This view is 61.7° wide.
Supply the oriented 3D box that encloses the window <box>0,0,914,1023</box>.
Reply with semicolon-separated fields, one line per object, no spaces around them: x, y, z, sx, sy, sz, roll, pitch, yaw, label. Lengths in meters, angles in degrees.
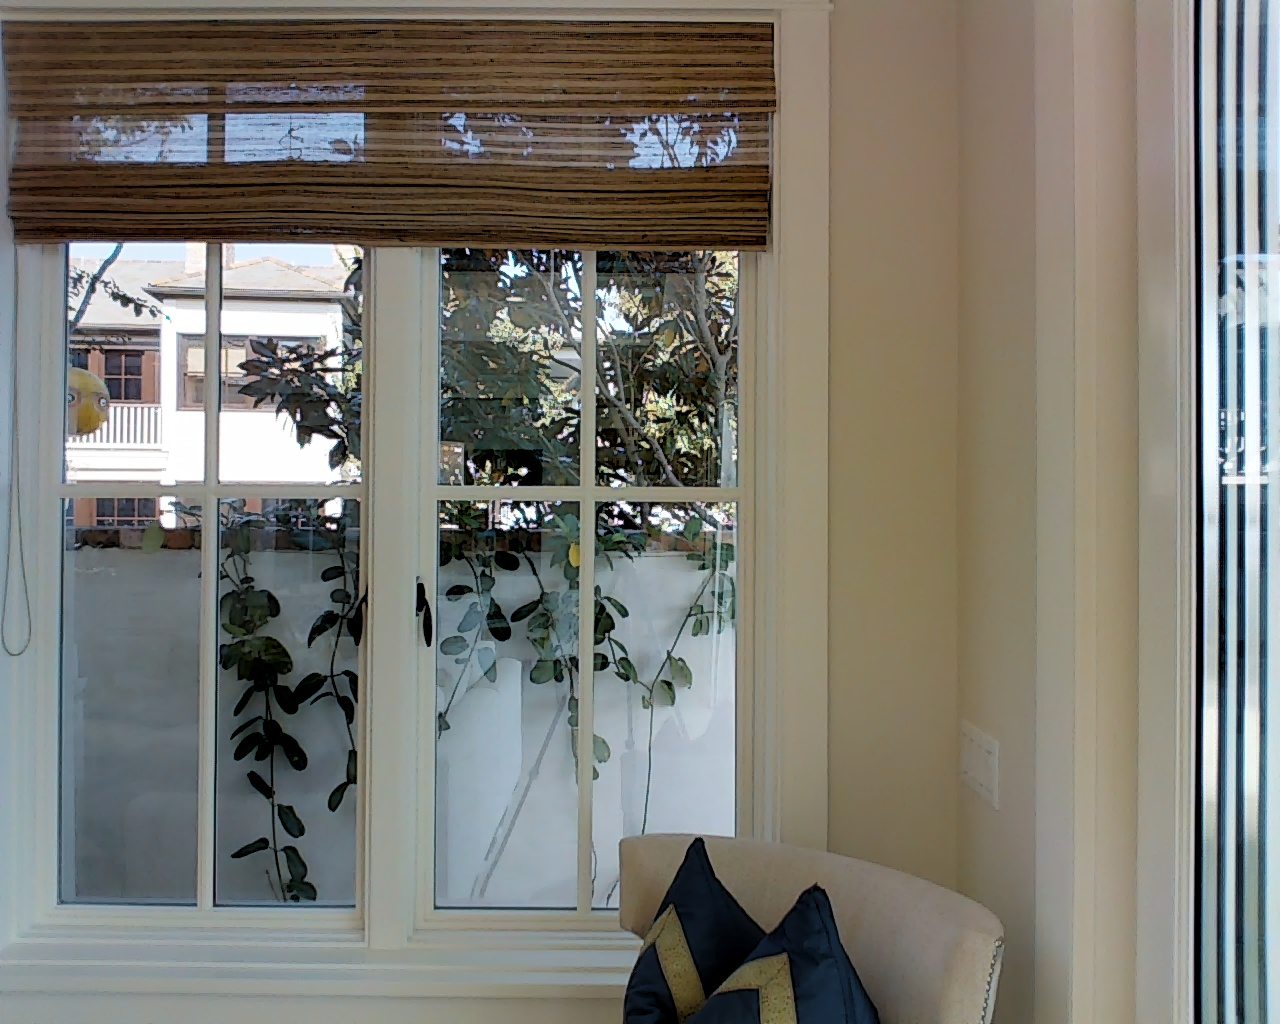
-0.460;-0.080;2.130;1.909;2.181;0.380;0;-1;0;window
